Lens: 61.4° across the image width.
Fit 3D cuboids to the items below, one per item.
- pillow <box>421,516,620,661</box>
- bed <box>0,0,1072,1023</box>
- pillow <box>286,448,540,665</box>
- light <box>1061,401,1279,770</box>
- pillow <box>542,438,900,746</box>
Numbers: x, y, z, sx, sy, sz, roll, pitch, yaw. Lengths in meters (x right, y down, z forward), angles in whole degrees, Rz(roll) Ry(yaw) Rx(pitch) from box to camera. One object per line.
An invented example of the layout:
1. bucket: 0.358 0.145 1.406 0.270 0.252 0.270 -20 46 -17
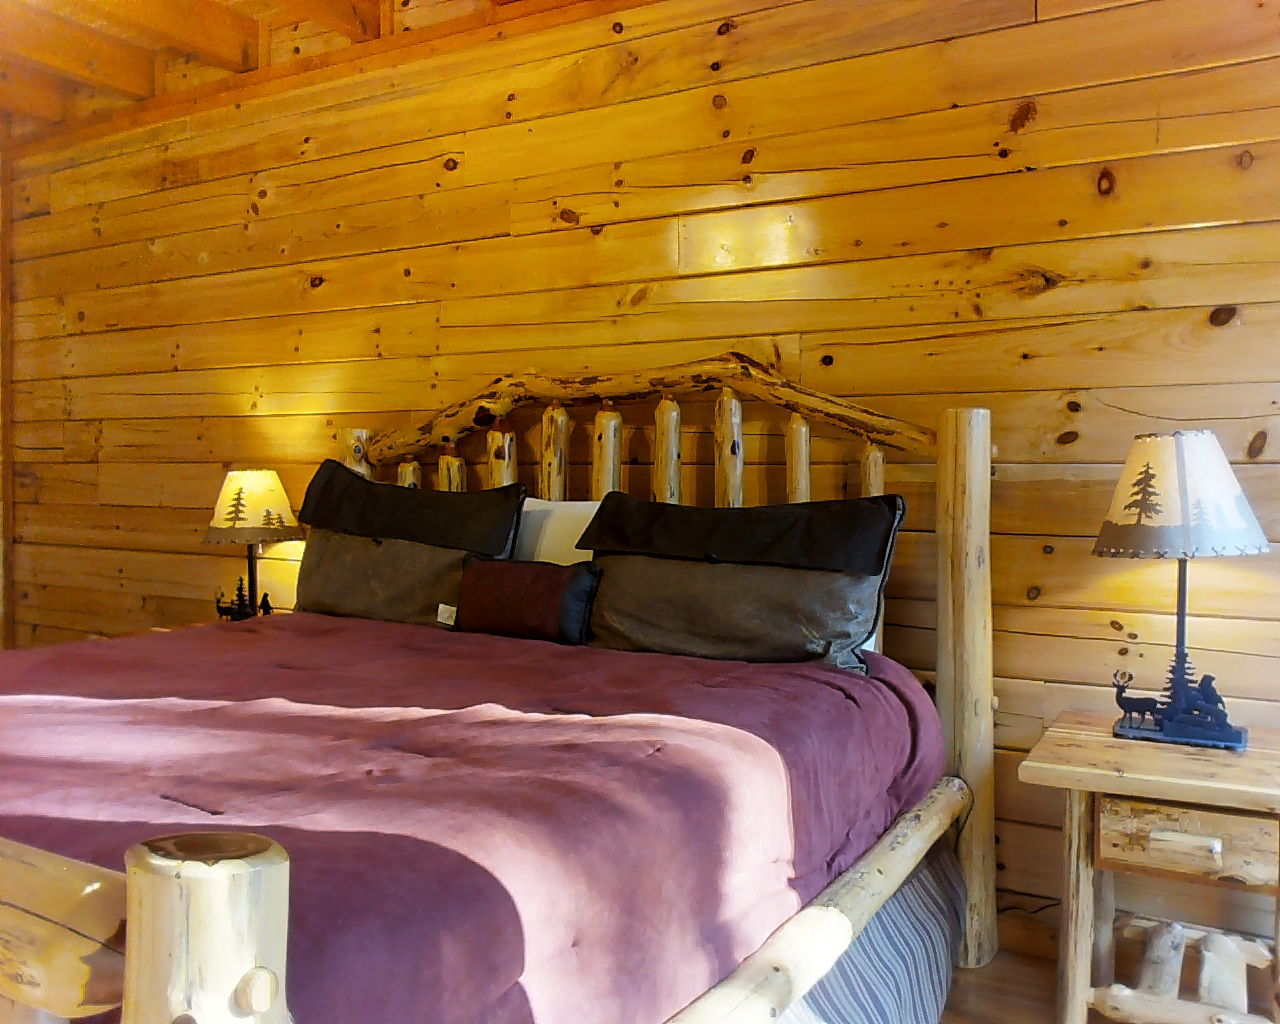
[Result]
1. pillow: -0.320 0.190 2.840 0.480 0.230 0.170 18 11 28
2. bed: -0.610 0.360 2.210 2.379 1.651 2.410 3 4 30
3. pillow: -0.680 0.110 3.160 0.720 0.450 0.210 16 10 29
4. light: 1.140 0.130 2.300 0.390 0.700 0.390 1 3 29
5. pillow: 0.180 0.170 2.660 0.770 0.400 0.230 31 17 25
